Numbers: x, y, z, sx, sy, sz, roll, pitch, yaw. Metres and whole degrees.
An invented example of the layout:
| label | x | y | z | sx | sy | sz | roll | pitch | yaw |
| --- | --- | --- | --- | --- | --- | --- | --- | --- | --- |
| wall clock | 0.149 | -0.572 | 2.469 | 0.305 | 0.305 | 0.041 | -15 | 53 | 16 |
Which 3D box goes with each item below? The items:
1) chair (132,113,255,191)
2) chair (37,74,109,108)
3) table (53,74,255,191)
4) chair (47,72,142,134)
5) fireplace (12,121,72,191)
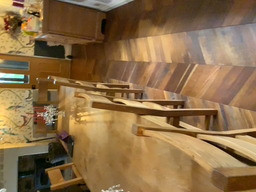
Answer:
| label | x | y | z | sx | sy | sz | roll | pitch | yaw |
| --- | --- | --- | --- | --- | --- | --- | --- | --- | --- |
| chair | 0.580 | 0.410 | 0.980 | 0.430 | 1.040 | 0.550 | 24 | 110 | 58 |
| chair | -0.920 | -0.080 | 3.560 | 0.540 | 1.030 | 0.460 | 18 | 104 | 59 |
| table | -0.030 | 0.470 | 2.290 | 3.650 | 0.760 | 1.060 | 19 | 105 | 58 |
| chair | -0.420 | 0.070 | 2.680 | 0.450 | 1.050 | 0.610 | 24 | 110 | 58 |
| fireplace | -2.420 | 2.170 | 5.810 | 1.270 | 1.260 | 2.630 | 22 | 108 | 58 |
